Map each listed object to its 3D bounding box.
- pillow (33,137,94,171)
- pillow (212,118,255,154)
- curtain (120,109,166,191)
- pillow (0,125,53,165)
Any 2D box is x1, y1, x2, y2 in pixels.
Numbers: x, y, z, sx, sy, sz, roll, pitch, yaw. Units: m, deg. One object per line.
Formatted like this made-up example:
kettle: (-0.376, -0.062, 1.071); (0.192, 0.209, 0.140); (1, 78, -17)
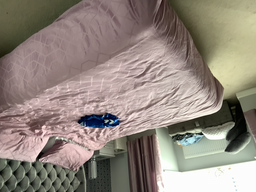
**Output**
pillow: (-0.810, 0.780, 2.770); (0.400, 0.300, 0.660); (-19, 152, 26)
pillow: (1.620, 0.630, 3.230); (0.420, 0.390, 0.510); (-21, 151, 30)
curtain: (0.260, 1.310, 3.360); (0.570, 2.160, 0.240); (-21, 151, 29)
pillow: (-1.190, 0.530, 2.210); (0.380, 0.260, 0.660); (-19, 152, 27)
